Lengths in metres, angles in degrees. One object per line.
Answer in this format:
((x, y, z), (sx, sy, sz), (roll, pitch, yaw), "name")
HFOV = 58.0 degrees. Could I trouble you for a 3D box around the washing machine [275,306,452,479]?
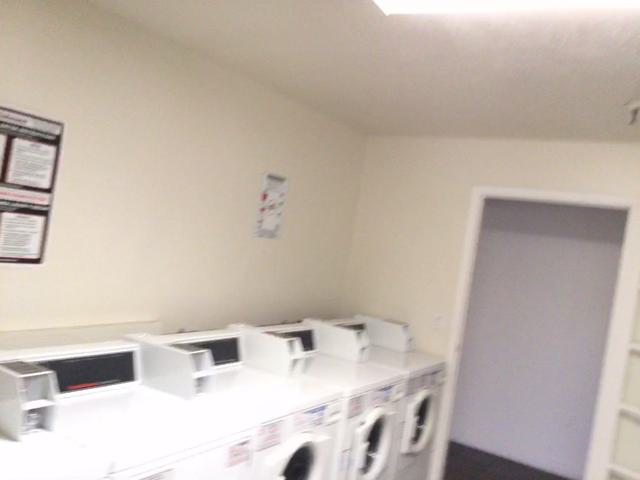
((0.290, 1.040, 3.770), (0.880, 1.030, 0.690), (5, 3, 31), "washing machine")
